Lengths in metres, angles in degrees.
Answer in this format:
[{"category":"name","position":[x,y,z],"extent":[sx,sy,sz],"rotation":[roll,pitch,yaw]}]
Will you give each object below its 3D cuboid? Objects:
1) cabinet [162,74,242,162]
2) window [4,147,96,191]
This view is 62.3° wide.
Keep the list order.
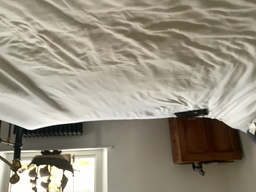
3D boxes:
[{"category":"cabinet","position":[0.830,0.270,2.550],"extent":[0.690,0.970,0.400],"rotation":[-1,162,-4]},{"category":"window","position":[-0.940,1.310,2.560],"extent":[1.070,1.320,0.120],"rotation":[-1,162,-5]}]
